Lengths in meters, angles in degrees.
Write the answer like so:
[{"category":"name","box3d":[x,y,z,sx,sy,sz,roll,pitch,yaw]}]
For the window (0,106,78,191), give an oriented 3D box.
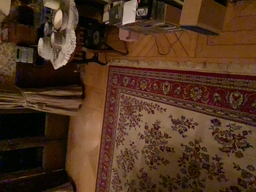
[{"category":"window","box3d":[-2.280,0.860,2.790,0.190,3.330,1.330,10,98,52]}]
